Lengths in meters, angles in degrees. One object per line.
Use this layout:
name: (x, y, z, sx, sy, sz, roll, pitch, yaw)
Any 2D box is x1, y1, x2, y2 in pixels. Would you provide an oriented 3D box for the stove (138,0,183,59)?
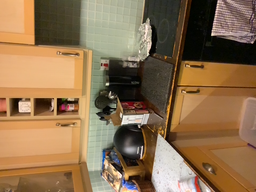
stove: (0.200, -0.560, 1.380, 0.510, 0.030, 0.570, -138, 51, -65)

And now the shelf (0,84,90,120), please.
shelf: (-0.690, 0.030, 1.390, 0.310, 0.820, 0.140, -138, 51, -65)
